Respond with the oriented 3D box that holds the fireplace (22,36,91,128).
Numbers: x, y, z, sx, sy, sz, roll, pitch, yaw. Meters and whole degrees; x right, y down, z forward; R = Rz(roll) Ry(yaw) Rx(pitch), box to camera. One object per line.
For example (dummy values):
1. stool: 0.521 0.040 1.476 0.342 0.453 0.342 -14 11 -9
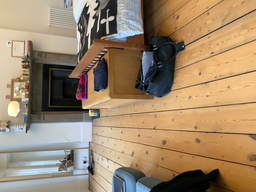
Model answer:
1. fireplace: -1.450 -0.230 4.370 0.560 1.240 1.690 166 104 -65
